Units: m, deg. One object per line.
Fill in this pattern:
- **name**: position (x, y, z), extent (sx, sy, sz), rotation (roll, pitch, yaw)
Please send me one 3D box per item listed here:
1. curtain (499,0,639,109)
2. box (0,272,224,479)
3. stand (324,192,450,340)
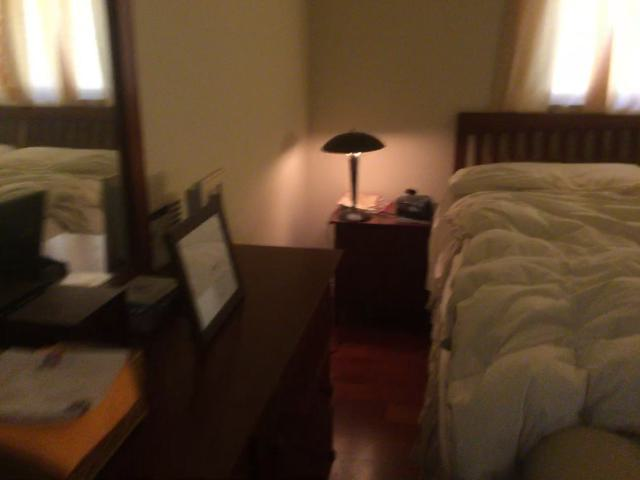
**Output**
- **curtain**: position (1.590, -1.020, 2.560), extent (1.460, 0.830, 0.210), rotation (2, 16, 10)
- **box**: position (-0.380, 0.200, 0.910), extent (0.310, 0.150, 0.450), rotation (2, 16, 10)
- **stand**: position (0.350, 0.110, 2.970), extent (0.580, 0.630, 0.460), rotation (2, 16, 10)
